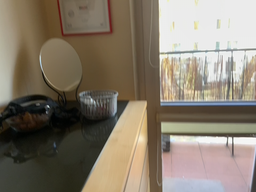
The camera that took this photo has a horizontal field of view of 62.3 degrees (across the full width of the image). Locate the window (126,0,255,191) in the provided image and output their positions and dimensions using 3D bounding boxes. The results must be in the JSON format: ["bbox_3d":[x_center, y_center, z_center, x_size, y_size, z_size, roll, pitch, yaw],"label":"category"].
[{"bbox_3d":[0.470,-0.240,1.260,0.910,2.500,0.140,0,18,11],"label":"window"}]

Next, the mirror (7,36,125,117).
[{"bbox_3d":[-0.280,-0.130,1.170,0.460,0.350,0.420,-1,18,7],"label":"mirror"}]
